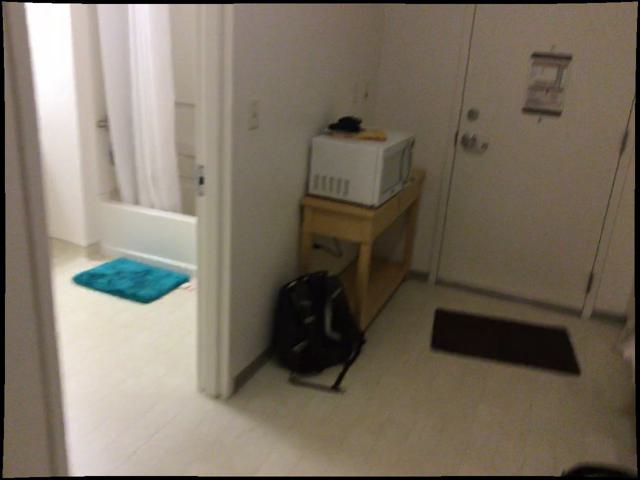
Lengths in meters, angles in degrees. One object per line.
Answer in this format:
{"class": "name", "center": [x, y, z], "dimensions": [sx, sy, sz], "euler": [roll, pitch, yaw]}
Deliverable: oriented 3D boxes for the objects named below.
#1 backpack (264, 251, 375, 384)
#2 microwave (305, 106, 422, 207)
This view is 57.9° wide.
{"class": "backpack", "center": [0.000, 0.350, 2.740], "dimensions": [0.380, 0.420, 0.380], "euler": [12, 23, 19]}
{"class": "microwave", "center": [0.230, -0.440, 2.930], "dimensions": [0.420, 0.360, 0.500], "euler": [13, 23, 19]}
